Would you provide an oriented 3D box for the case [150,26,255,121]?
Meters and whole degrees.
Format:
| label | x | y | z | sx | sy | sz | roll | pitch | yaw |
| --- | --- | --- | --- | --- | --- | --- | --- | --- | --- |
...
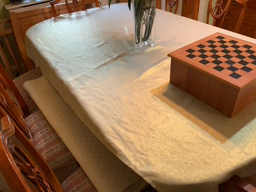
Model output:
| label | x | y | z | sx | sy | sz | roll | pitch | yaw |
| --- | --- | --- | --- | --- | --- | --- | --- | --- | --- |
| case | 0.350 | -0.130 | 0.900 | 0.330 | 0.150 | 0.400 | -26 | 43 | -25 |
